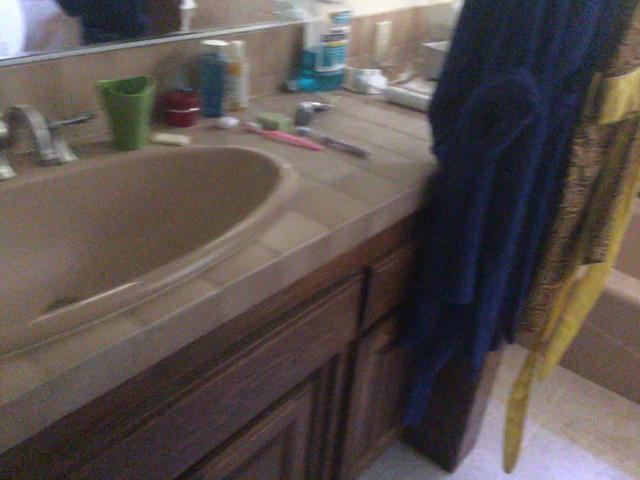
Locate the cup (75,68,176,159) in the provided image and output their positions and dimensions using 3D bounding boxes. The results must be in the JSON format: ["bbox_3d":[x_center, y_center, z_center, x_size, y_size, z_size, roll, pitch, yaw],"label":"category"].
[{"bbox_3d":[-0.330,-0.220,0.990,0.110,0.110,0.110,24,36,32],"label":"cup"}]
